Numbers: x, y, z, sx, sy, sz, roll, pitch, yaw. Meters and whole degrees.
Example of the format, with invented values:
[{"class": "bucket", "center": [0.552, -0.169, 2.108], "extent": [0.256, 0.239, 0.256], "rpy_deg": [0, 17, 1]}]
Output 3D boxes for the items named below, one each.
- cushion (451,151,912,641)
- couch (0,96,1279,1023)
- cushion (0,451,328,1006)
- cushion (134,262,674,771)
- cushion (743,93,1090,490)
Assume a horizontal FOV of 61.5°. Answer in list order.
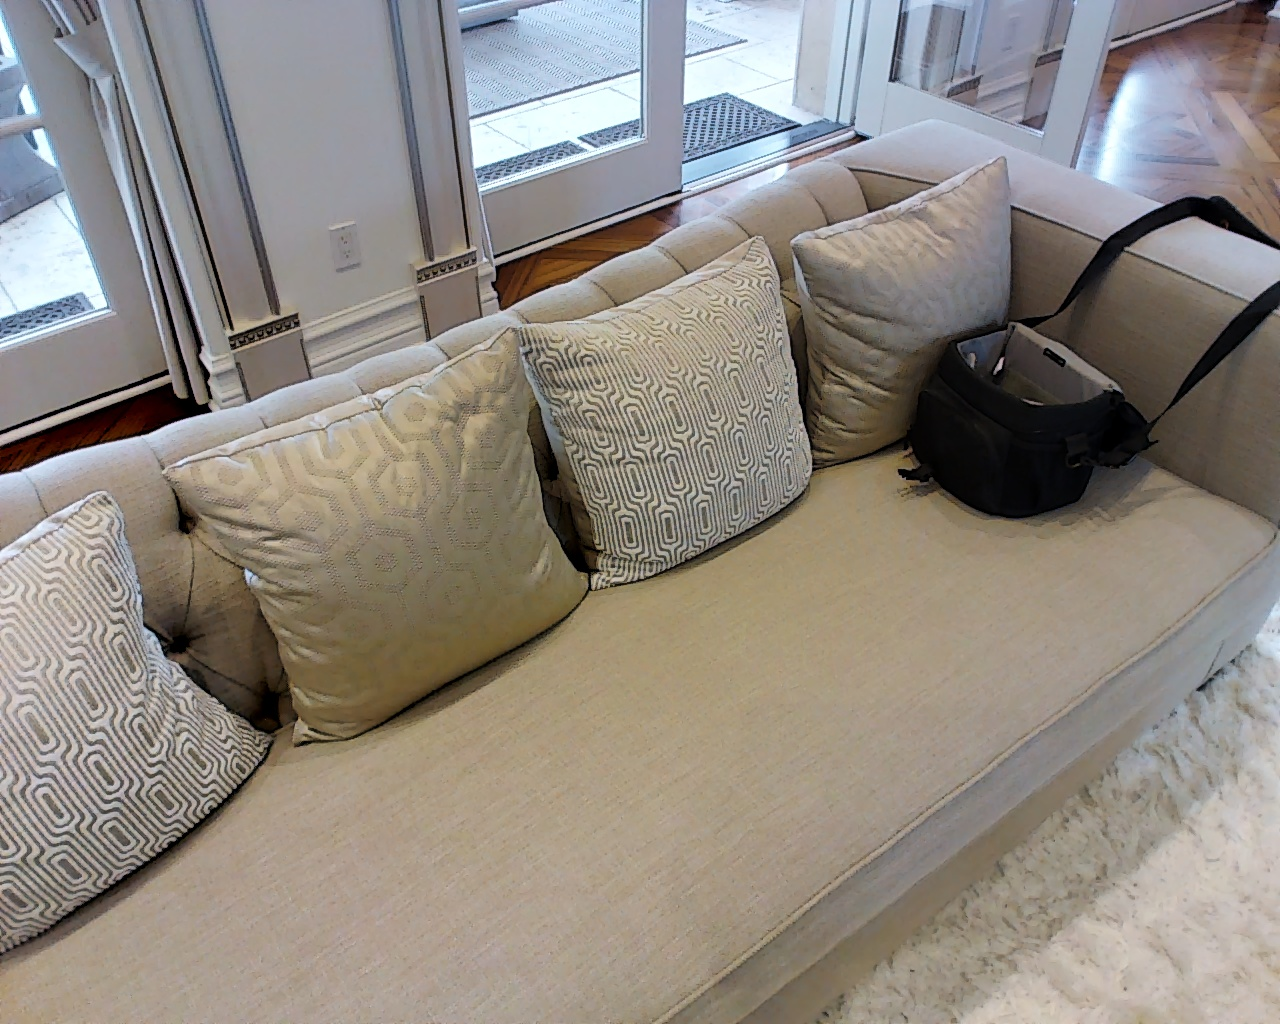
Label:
[{"class": "cushion", "center": [0.090, -0.160, 1.690], "extent": [0.580, 0.450, 0.250], "rpy_deg": [-47, 53, -2]}, {"class": "couch", "center": [-0.060, 0.230, 1.660], "extent": [2.590, 0.810, 1.100], "rpy_deg": [-27, 48, -26]}, {"class": "cushion", "center": [-0.720, 0.270, 1.240], "extent": [0.510, 0.410, 0.230], "rpy_deg": [-46, 53, -3]}, {"class": "cushion", "center": [-0.300, 0.030, 1.470], "extent": [0.510, 0.440, 0.270], "rpy_deg": [-49, 53, 1]}, {"class": "cushion", "center": [0.500, -0.370, 1.890], "extent": [0.520, 0.390, 0.220], "rpy_deg": [-50, 53, 2]}]
